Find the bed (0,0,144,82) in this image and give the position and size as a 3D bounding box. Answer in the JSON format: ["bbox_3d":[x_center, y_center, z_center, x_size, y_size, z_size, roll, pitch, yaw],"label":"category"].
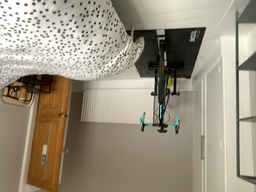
[{"bbox_3d":[-1.150,-0.620,1.800,2.200,0.590,1.710,1,170,18],"label":"bed"}]

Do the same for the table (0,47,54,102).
[{"bbox_3d":[-1.550,-0.300,3.260,0.490,0.720,0.520,1,170,18],"label":"table"}]
